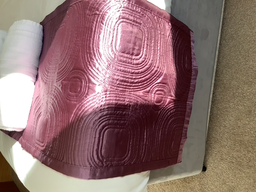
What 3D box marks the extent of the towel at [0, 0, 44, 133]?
[{"bbox_3d":[-0.420,-0.090,0.750,0.190,0.120,0.410,2,84,48],"label":"towel"}]
